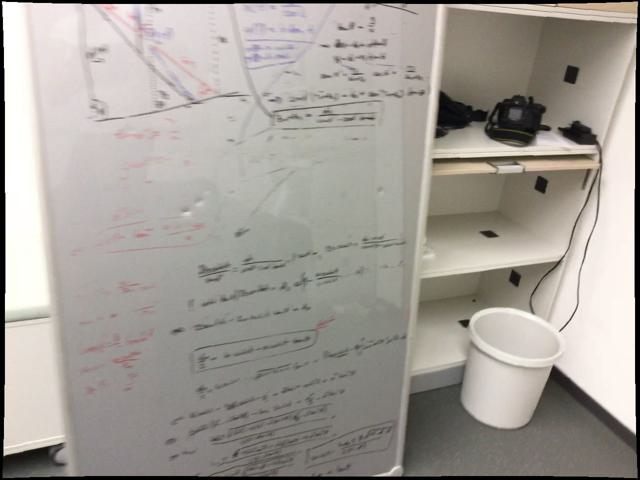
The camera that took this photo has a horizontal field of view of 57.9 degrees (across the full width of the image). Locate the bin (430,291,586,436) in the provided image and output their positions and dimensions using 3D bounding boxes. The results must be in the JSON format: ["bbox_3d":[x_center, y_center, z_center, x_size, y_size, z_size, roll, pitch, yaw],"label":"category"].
[{"bbox_3d":[0.629,0.410,2.000,0.330,0.300,0.330,-7,29,-20],"label":"bin"}]
